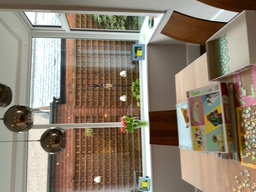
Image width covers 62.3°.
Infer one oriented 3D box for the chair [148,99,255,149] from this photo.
[{"bbox_3d":[0.730,0.260,2.100,0.470,0.970,0.420,141,128,-80],"label":"chair"}]
